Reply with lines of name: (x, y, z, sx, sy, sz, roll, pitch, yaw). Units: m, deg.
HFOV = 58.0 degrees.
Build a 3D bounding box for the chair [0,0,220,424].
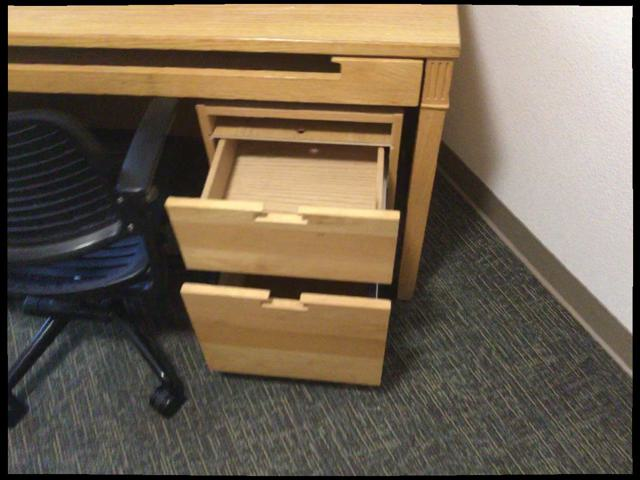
chair: (-0.579, -0.080, 1.170, 0.579, 0.661, 0.651, -2, 49, 1)
